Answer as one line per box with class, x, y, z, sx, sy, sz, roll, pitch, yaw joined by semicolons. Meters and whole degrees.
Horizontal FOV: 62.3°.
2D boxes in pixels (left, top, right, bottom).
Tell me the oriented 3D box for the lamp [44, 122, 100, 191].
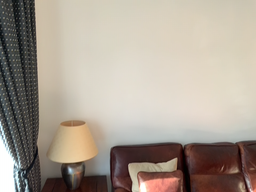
lamp;-0.490;0.560;1.970;0.430;0.520;0.470;-1;7;-9
